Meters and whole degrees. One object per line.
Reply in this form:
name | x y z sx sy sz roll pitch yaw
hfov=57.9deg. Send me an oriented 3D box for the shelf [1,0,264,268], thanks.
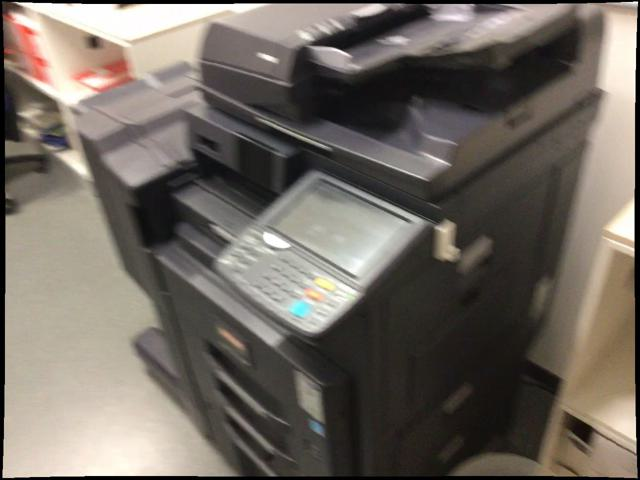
shelf | -0.729 -0.531 2.350 0.830 0.941 0.460 28 48 34
